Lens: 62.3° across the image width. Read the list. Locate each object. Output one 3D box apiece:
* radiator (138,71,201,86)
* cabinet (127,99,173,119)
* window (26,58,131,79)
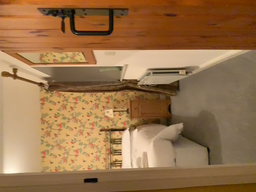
[{"bbox_3d":[0.490,-0.220,2.880,0.980,0.600,0.070,148,121,-85],"label":"radiator"},{"bbox_3d":[0.400,0.240,4.080,0.410,0.810,0.350,172,98,-85],"label":"cabinet"},{"bbox_3d":[-0.540,-0.330,2.720,1.070,1.070,0.070,148,121,-85],"label":"window"}]
